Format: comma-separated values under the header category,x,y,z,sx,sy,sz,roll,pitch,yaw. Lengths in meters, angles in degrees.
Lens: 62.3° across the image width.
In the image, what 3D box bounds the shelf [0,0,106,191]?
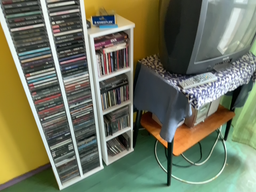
category,x,y,z,sx,sy,sz,roll,pitch,yaw
shelf,-0.360,-0.010,1.120,0.330,1.310,0.260,-22,43,-27

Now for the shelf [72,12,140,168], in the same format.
category,x,y,z,sx,sy,sz,roll,pitch,yaw
shelf,-0.120,0.020,1.360,0.260,0.980,0.240,-22,43,-27
